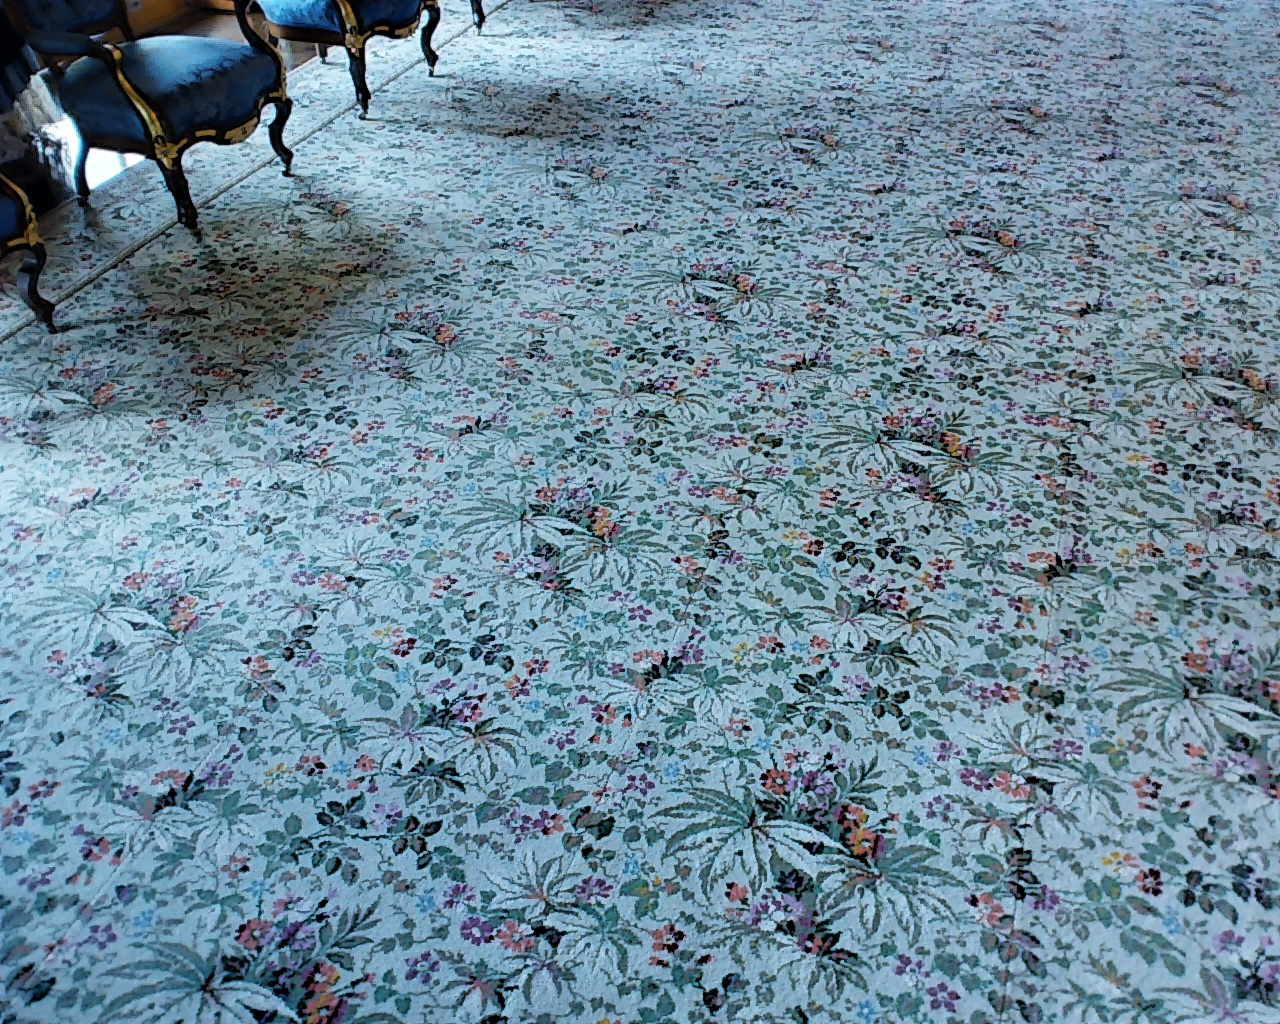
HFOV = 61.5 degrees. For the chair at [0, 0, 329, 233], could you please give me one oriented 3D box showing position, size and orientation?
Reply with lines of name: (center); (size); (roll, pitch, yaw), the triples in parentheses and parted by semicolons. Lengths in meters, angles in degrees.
chair: (-1.620, -1.560, 3.310); (0.860, 1.040, 0.690); (14, 44, 15)
